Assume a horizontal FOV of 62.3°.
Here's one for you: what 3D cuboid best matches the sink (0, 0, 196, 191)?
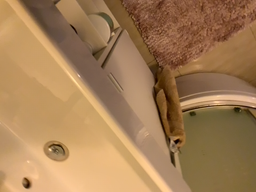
[{"bbox_3d":[-0.160,0.140,0.480,0.410,0.130,0.610,-30,110,16],"label":"sink"}]

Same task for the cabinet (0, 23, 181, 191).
[{"bbox_3d":[-0.100,-0.010,0.930,0.400,0.820,0.340,-30,110,16],"label":"cabinet"}]

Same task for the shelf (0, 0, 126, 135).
[{"bbox_3d":[-0.250,-0.210,0.840,0.400,0.820,0.190,-30,110,16],"label":"shelf"}]
